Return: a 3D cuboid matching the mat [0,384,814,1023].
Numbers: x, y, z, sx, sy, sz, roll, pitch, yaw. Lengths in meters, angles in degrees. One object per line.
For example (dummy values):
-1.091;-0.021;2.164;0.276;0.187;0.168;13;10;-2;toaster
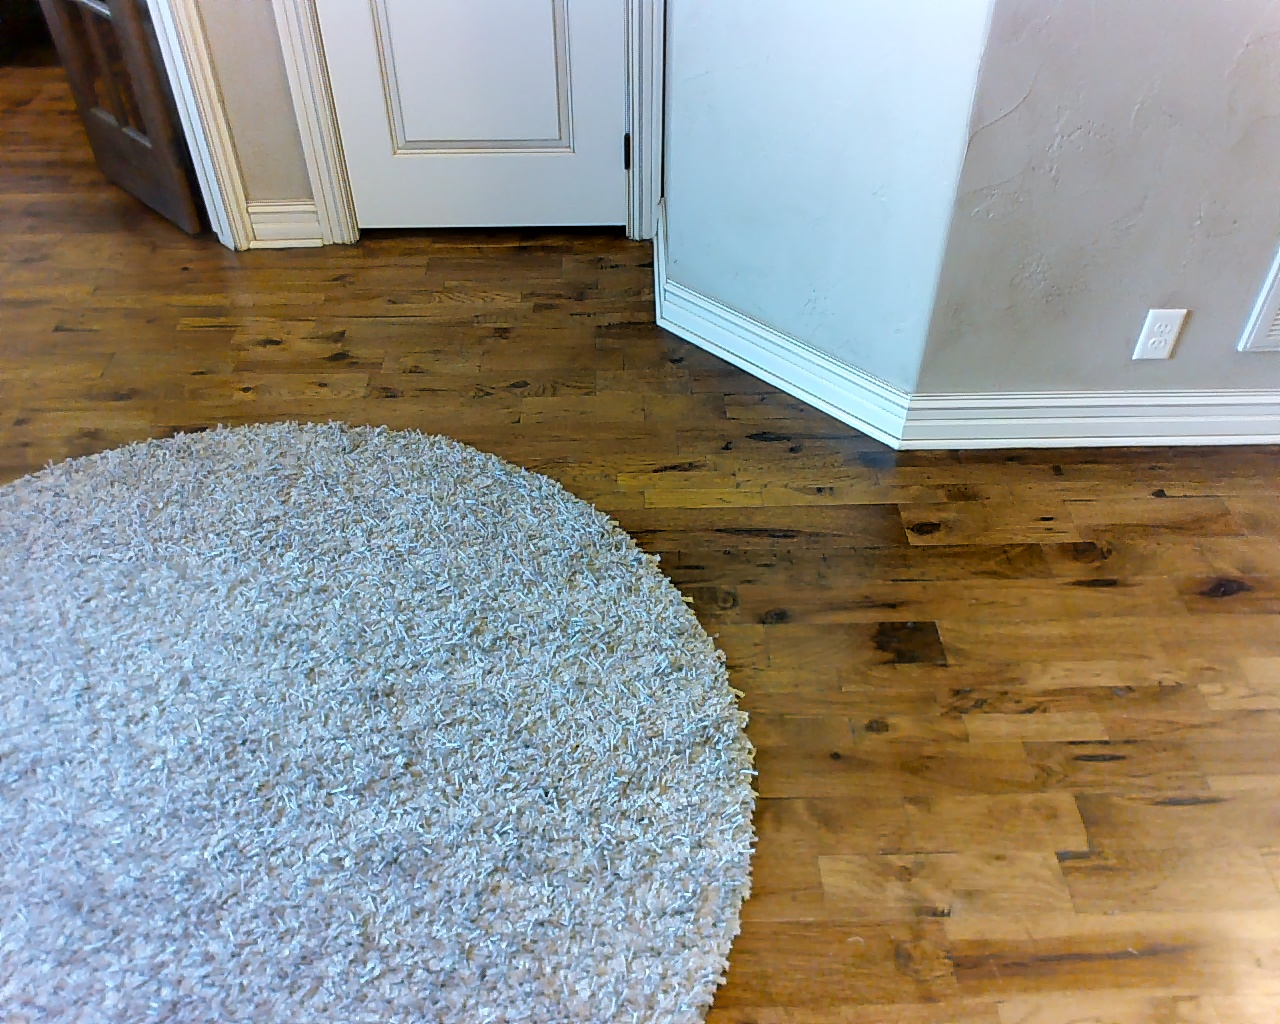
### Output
-0.750;0.390;1.760;1.920;0.030;1.900;-2;42;-2;mat
